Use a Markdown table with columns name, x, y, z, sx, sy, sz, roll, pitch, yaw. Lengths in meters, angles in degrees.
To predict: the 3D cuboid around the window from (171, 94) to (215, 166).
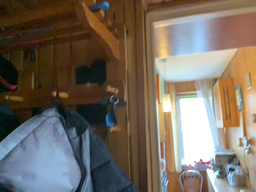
| name | x | y | z | sx | sy | sz | roll | pitch | yaw |
| --- | --- | --- | --- | --- | --- | --- | --- | --- | --- |
| window | 1.250 | 0.650 | 4.140 | 0.720 | 1.340 | 0.170 | -3 | -9 | 13 |
